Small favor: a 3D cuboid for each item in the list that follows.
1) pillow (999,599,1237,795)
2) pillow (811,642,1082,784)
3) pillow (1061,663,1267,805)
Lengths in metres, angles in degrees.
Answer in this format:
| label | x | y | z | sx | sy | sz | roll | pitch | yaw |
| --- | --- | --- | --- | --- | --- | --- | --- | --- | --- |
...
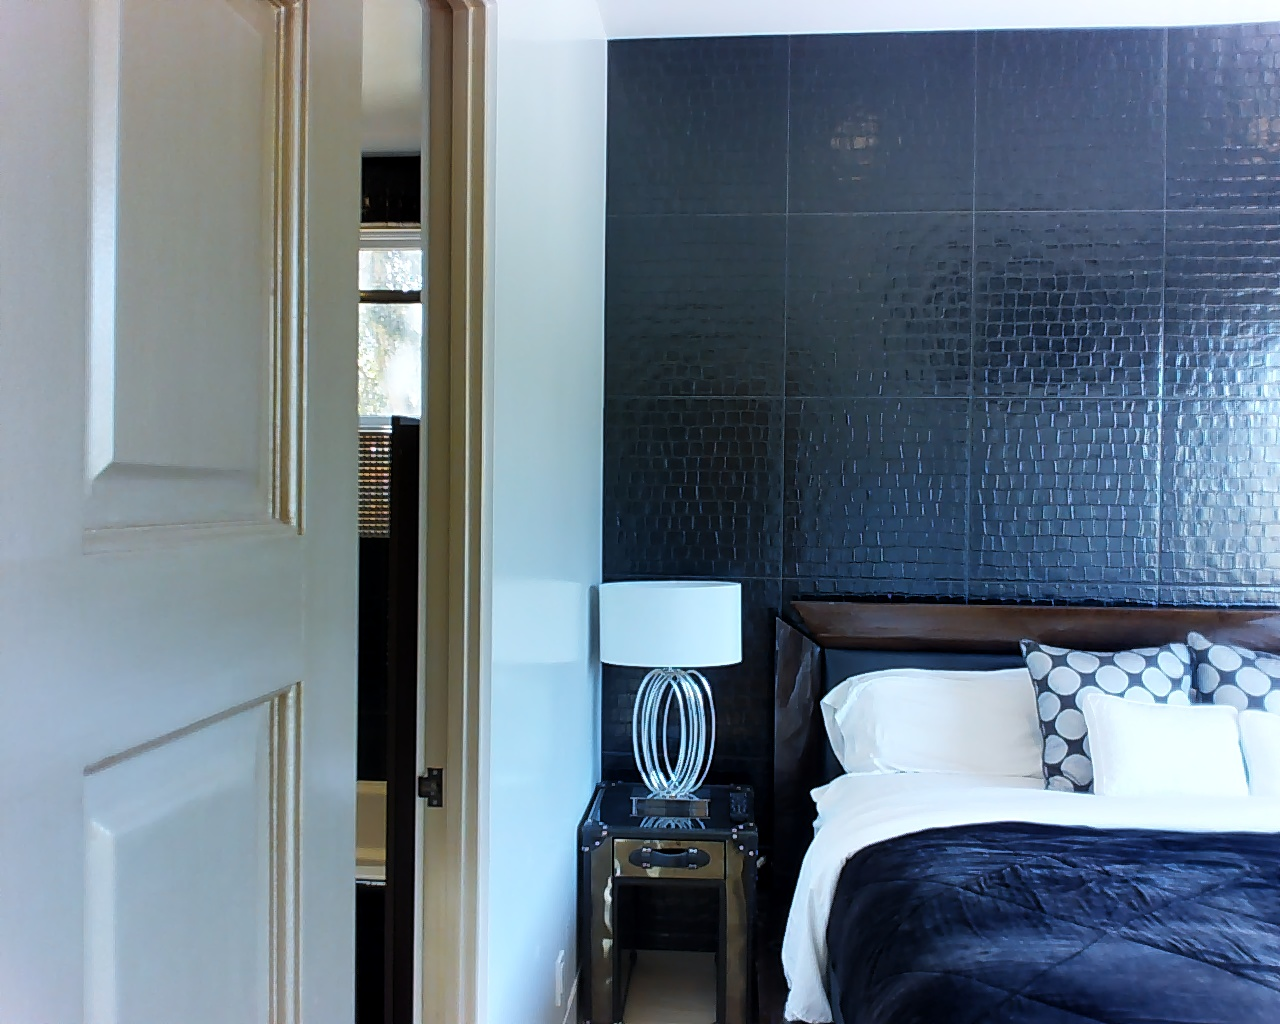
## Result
| label | x | y | z | sx | sy | sz | roll | pitch | yaw |
| --- | --- | --- | --- | --- | --- | --- | --- | --- | --- |
| pillow | 1.359 | 0.540 | 3.130 | 0.480 | 0.510 | 0.280 | 1 | 38 | 5 |
| pillow | 0.930 | 0.630 | 3.360 | 0.750 | 0.420 | 0.170 | 1 | 35 | 5 |
| pillow | 1.399 | 0.600 | 2.900 | 0.450 | 0.310 | 0.140 | -7 | 31 | 0 |
